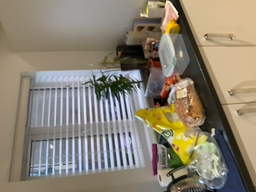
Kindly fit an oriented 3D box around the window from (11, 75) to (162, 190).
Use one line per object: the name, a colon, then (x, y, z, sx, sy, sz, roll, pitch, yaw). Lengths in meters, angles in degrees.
window: (-0.330, 0.220, 1.750, 0.060, 1.050, 0.890, 104, 160, -57)
